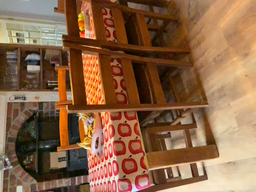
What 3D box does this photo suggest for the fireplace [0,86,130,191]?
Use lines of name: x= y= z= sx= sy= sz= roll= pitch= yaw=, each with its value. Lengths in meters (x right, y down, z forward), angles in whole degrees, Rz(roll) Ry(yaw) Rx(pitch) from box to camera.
fireplace: x=-1.040 y=0.940 z=3.180 sx=0.680 sy=1.850 sz=2.090 roll=130 pitch=135 yaw=-58

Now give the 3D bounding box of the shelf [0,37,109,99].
shelf: x=-1.430 y=-0.490 z=3.900 sx=0.360 sy=2.000 sz=0.990 roll=130 pitch=135 yaw=-58
